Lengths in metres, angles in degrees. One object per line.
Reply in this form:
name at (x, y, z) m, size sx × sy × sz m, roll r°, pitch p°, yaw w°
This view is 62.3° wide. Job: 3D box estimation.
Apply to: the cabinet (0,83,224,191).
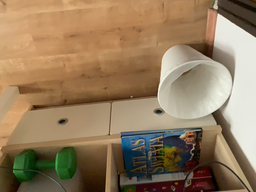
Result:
cabinet at (-0.070, 0.290, 1.140) m, size 0.940 × 0.350 × 0.530 m, roll -5°, pitch 124°, yaw 2°
